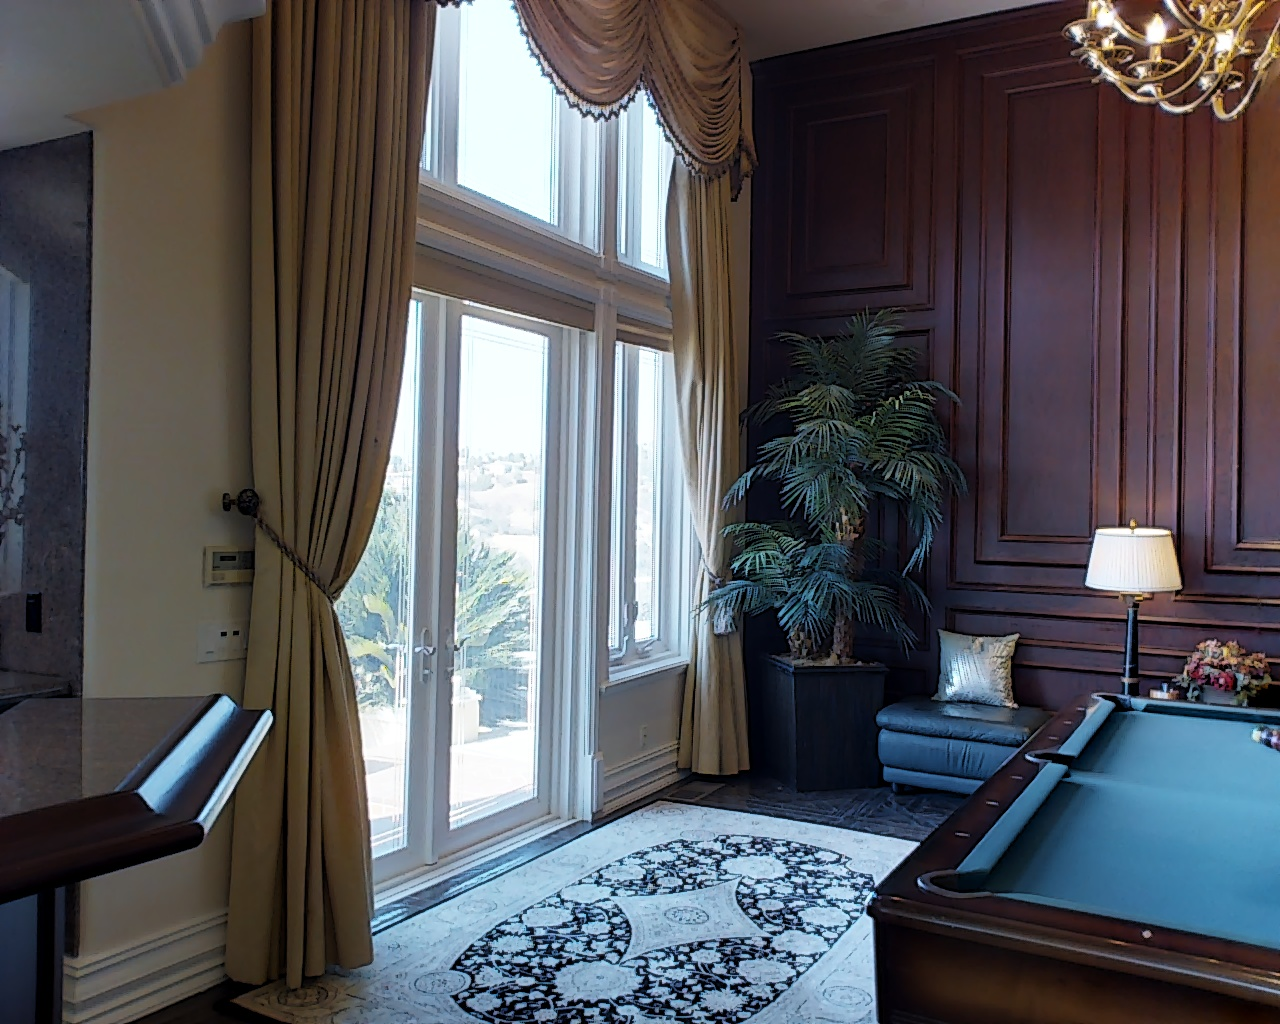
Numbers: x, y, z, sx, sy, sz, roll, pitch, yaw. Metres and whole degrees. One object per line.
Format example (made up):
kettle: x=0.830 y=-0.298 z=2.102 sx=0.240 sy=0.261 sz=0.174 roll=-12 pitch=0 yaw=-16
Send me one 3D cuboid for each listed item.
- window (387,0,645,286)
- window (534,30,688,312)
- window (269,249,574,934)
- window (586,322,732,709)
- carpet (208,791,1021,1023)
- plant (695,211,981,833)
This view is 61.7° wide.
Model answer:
window: x=-0.460 y=-1.570 z=4.490 sx=0.310 sy=0.960 sz=1.360 roll=1 pitch=0 yaw=30
window: x=-0.110 y=-1.580 z=5.180 sx=0.160 sy=1.020 sz=1.130 roll=1 pitch=0 yaw=30
window: x=-0.780 y=0.270 z=4.300 sx=0.090 sy=2.280 sz=1.650 roll=1 pitch=0 yaw=30
window: x=0.130 y=0.020 z=5.690 sx=0.230 sy=1.860 sz=1.120 roll=1 pitch=0 yaw=30
carpet: x=0.210 y=1.420 z=3.750 sx=1.650 sy=0.030 sz=2.770 roll=1 pitch=0 yaw=30
plant: x=1.070 y=0.040 z=5.630 sx=1.100 sy=2.820 sz=1.150 roll=1 pitch=0 yaw=30
